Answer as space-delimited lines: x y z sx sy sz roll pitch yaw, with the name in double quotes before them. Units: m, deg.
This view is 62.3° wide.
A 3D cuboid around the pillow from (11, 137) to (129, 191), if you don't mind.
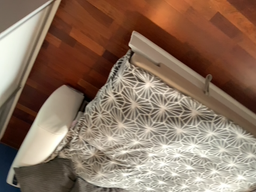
"pillow" -0.450 0.740 1.690 0.770 0.350 0.440 31 127 -17
